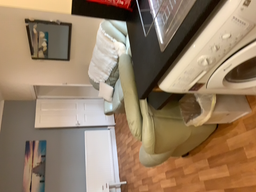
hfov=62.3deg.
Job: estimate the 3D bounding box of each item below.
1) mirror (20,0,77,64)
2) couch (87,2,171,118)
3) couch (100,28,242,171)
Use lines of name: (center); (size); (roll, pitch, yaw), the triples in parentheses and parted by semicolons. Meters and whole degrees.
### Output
mirror: (-1.330, -1.010, 3.650); (1.410, 0.760, 0.130); (125, 142, -60)
couch: (-0.170, -0.440, 3.780); (1.970, 0.840, 1.050); (126, 141, -60)
couch: (0.280, 0.110, 2.270); (1.060, 0.900, 1.070); (121, 145, -57)
